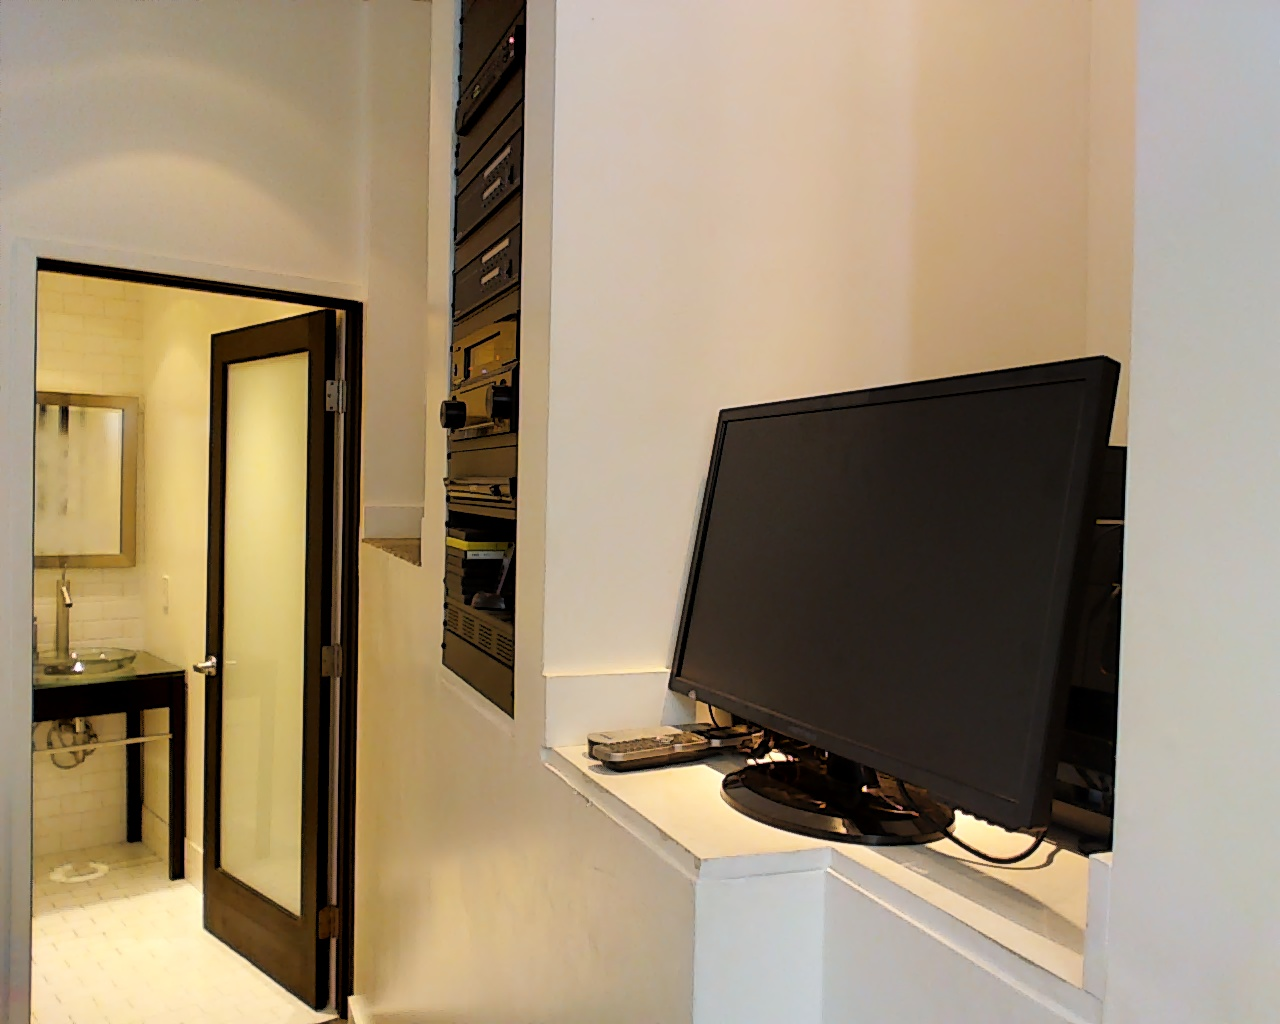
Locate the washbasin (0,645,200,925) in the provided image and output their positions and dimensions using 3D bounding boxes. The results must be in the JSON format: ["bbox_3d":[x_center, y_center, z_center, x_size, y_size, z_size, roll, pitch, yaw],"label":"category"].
[{"bbox_3d":[-2.170,1.000,4.170,0.680,0.830,0.640,-1,2,-42],"label":"washbasin"}]

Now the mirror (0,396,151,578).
[{"bbox_3d":[-2.320,-0.100,4.380,0.600,0.710,0.080,-1,2,-41],"label":"mirror"}]
